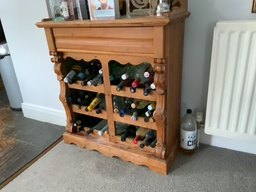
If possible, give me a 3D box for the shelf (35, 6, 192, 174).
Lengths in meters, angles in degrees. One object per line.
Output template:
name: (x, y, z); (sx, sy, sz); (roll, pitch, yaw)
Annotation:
shelf: (-0.070, -0.090, 1.470); (0.860, 0.930, 0.420); (10, 28, 27)
